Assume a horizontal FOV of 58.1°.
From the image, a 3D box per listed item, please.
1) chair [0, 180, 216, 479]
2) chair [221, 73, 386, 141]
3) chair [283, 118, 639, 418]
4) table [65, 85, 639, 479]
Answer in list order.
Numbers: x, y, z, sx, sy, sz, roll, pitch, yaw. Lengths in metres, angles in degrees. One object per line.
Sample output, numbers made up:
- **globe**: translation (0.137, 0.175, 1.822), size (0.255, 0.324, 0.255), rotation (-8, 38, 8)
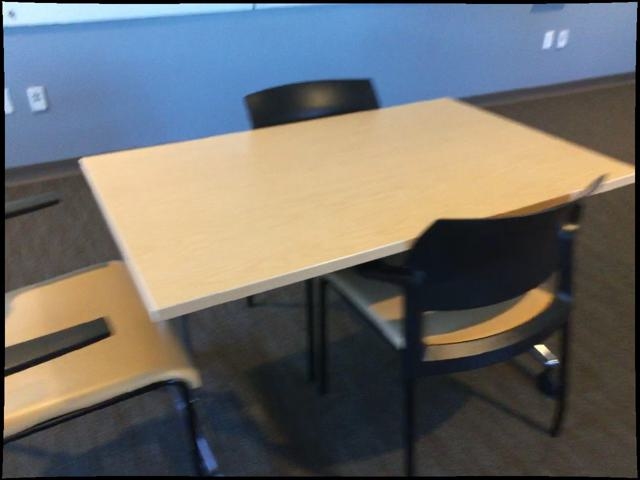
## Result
- **chair**: translation (-0.588, 0.180, 1.260), size (0.529, 0.331, 0.590), rotation (-15, 32, -21)
- **chair**: translation (-0.050, -0.451, 1.920), size (0.509, 0.100, 0.190), rotation (-15, 32, -22)
- **chair**: translation (0.319, 0.010, 1.430), size (0.649, 0.391, 0.520), rotation (-15, 32, -22)
- **table**: translation (0.080, 0.110, 1.700), size (1.317, 0.741, 0.910), rotation (-15, 32, -22)
